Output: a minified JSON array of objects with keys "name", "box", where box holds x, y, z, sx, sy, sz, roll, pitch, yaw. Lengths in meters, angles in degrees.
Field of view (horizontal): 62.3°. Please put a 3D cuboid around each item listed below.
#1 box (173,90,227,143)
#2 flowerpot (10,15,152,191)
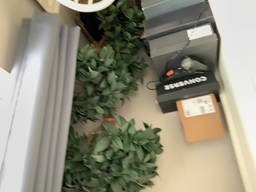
[{"name":"box","box":[0.390,0.120,1.180,0.230,0.220,0.160,-11,151,14]},{"name":"flowerpot","box":[-0.160,0.130,1.100,0.390,0.800,0.560,-11,151,15]}]
